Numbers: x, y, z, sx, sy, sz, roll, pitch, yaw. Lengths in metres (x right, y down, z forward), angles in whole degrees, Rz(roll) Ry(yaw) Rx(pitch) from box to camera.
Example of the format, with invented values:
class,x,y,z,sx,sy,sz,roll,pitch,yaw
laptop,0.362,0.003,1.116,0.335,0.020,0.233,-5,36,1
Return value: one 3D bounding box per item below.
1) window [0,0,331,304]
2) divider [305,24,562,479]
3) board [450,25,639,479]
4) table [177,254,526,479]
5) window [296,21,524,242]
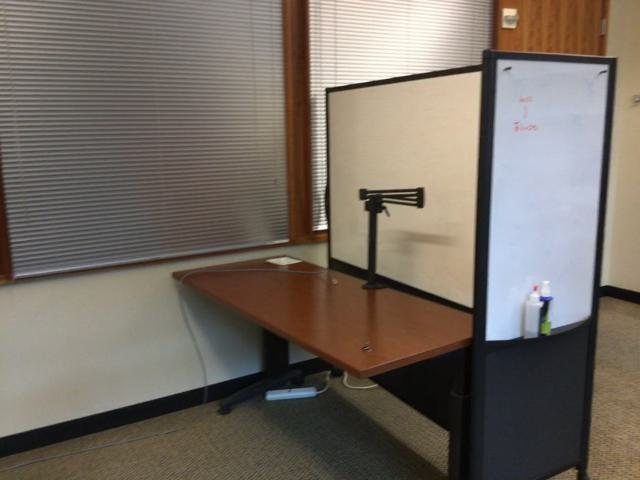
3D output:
class,x,y,z,sx,sy,sz,roll,pitch,yaw
window,-1.190,-0.410,2.500,2.700,1.300,0.190,-6,9,-28
divider,0.380,0.000,2.620,0.180,1.550,1.500,-6,9,-28
board,0.760,0.150,1.960,0.670,1.600,0.180,-6,9,-28
table,0.000,0.610,2.440,0.770,0.840,1.490,-6,9,-28
window,0.610,-0.640,3.490,1.560,1.150,0.150,-6,9,-28
